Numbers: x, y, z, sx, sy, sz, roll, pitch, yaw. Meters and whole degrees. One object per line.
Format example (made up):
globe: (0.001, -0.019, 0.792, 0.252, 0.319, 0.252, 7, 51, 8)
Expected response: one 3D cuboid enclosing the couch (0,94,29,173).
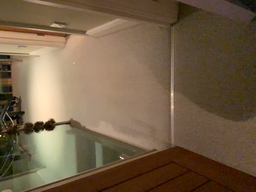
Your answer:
couch: (-2.440, 0.730, 4.070, 0.610, 0.660, 1.400, -27, 73, 48)
